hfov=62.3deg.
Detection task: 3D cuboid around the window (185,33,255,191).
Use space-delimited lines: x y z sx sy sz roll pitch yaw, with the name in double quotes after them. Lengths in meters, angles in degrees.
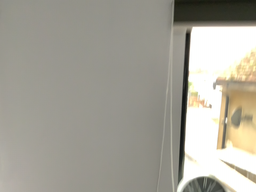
0.980 0.240 1.340 1.140 1.230 0.100 3 8 14 "window"
